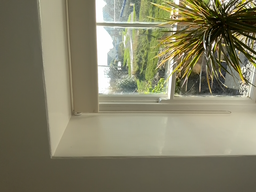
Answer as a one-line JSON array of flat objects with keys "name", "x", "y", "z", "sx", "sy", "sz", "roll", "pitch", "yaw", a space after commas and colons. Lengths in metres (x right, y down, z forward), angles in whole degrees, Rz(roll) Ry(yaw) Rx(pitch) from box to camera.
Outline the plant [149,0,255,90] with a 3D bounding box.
[{"name": "plant", "x": 0.480, "y": -0.240, "z": 0.990, "sx": 0.230, "sy": 0.710, "sz": 0.370, "roll": -103, "pitch": 15, "yaw": -72}]
